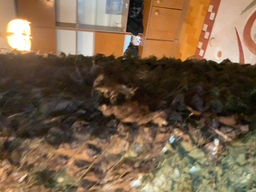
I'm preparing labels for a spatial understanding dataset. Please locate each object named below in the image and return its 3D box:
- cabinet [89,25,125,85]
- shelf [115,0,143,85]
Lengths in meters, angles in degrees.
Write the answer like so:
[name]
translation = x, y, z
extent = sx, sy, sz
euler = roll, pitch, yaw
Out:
[cabinet]
translation = -0.380, -0.660, 3.540
extent = 0.350, 0.480, 0.900
euler = -114, 28, -56
[shelf]
translation = 0.040, -1.250, 3.310
extent = 0.330, 0.200, 2.250
euler = -114, 28, -56
